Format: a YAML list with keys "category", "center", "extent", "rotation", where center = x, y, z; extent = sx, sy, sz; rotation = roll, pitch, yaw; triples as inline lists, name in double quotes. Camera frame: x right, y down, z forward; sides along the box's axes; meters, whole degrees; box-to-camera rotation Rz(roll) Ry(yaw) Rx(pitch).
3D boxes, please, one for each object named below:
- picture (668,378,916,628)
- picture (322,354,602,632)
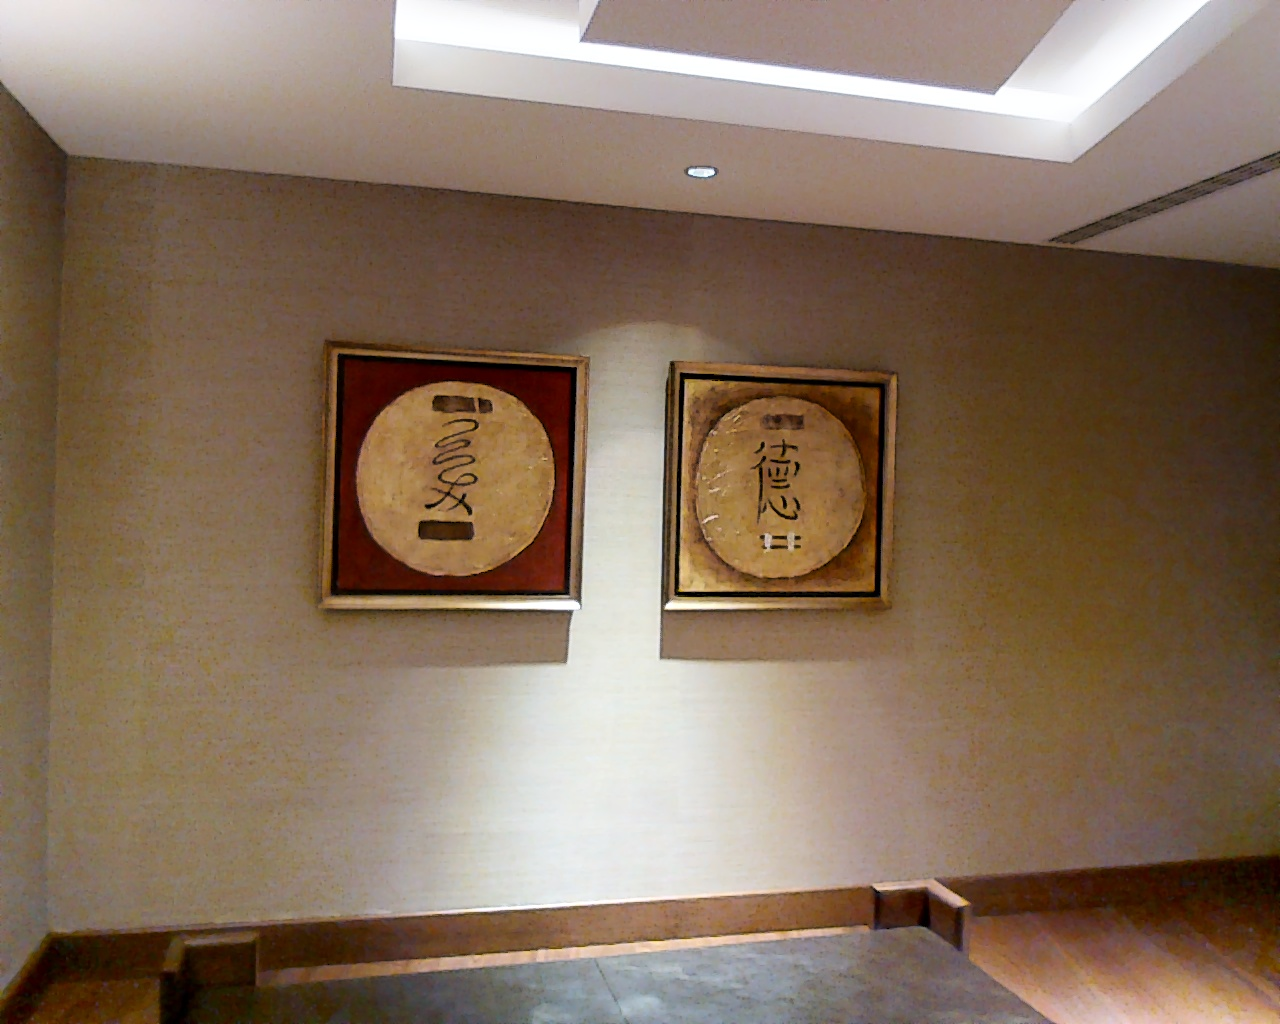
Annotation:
- category: "picture"
  center: [0.560, -0.020, 3.910]
  extent: [0.900, 0.870, 0.070]
  rotation: [2, 0, -13]
- category: "picture"
  center: [-0.590, -0.050, 3.630]
  extent: [0.900, 0.900, 0.070]
  rotation: [2, 0, -14]
